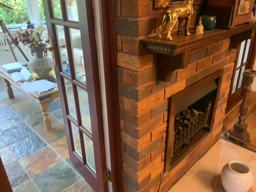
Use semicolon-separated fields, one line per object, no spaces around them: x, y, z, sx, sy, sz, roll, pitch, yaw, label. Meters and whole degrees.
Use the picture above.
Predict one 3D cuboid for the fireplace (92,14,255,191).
0.420;0.100;1.550;1.190;1.210;0.480;-23;34;-39;fireplace
